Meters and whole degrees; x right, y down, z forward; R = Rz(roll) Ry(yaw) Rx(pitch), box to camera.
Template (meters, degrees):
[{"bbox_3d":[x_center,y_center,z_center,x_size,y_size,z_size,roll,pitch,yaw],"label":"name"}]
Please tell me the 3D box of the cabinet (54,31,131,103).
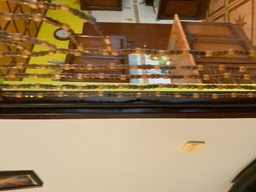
[{"bbox_3d":[-0.380,-0.380,2.550,0.310,0.770,0.930,95,174,-48],"label":"cabinet"}]
